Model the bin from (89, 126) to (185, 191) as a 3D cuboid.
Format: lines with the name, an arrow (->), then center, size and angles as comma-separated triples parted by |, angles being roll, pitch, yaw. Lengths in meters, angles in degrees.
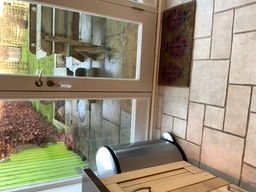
bin -> 0.070, 0.500, 1.820 | 0.430, 0.680, 0.330 | 18, 106, 58
